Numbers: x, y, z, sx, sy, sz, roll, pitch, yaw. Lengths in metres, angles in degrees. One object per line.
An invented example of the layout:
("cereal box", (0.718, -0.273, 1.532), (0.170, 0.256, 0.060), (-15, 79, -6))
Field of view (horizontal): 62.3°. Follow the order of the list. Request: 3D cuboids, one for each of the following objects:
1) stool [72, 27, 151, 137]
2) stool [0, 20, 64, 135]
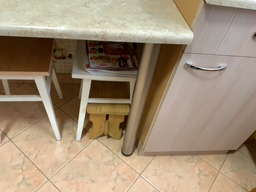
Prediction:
("stool", (-0.110, -0.050, 1.080), (0.300, 0.460, 0.310), (1, 47, -11))
("stool", (-0.490, -0.070, 1.020), (0.300, 0.450, 0.310), (1, 47, -11))
